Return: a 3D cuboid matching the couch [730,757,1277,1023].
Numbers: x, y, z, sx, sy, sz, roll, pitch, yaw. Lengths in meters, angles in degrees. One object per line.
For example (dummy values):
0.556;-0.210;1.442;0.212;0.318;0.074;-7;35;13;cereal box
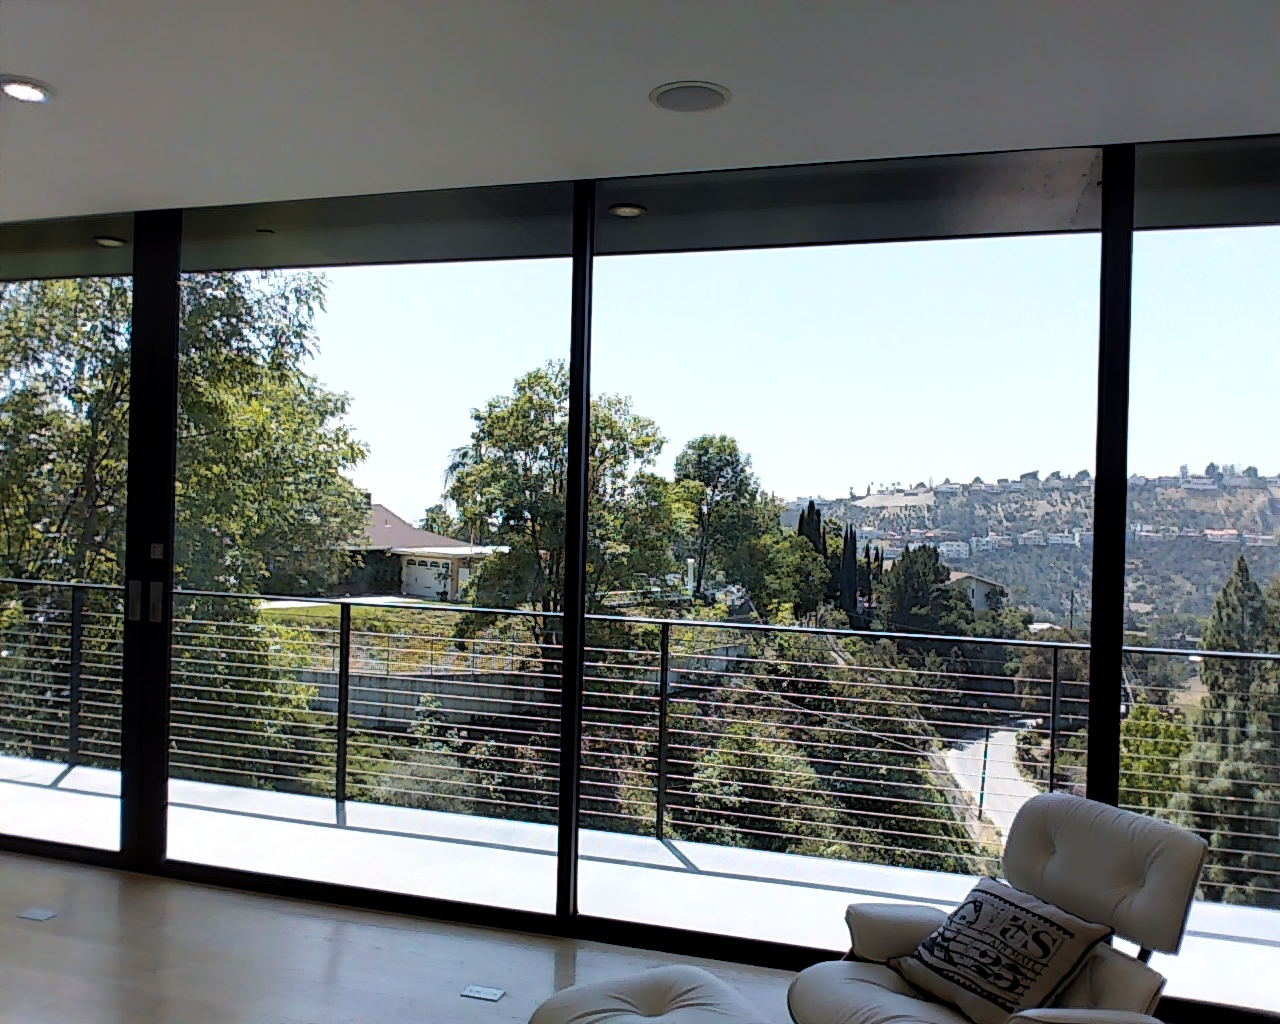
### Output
0.850;1.140;2.680;0.930;0.810;0.870;2;0;-24;couch
